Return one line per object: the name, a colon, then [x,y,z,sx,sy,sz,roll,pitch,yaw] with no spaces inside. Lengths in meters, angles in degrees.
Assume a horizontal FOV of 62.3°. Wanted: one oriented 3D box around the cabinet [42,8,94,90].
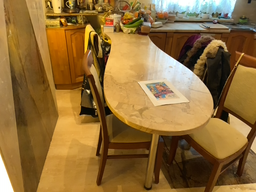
cabinet: [-0.770,-0.650,2.940,0.540,0.980,0.550,-1,31,-8]
